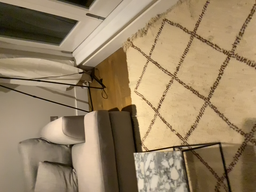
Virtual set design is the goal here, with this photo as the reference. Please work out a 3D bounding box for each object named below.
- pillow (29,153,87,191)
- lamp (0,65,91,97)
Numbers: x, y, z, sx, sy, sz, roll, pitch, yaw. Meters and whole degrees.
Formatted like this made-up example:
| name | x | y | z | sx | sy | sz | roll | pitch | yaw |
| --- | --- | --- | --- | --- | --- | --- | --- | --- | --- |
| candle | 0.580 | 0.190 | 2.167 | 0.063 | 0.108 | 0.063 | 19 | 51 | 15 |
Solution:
| name | x | y | z | sx | sy | sz | roll | pitch | yaw |
| --- | --- | --- | --- | --- | --- | --- | --- | --- | --- |
| pillow | -0.670 | 0.830 | 2.000 | 0.200 | 0.410 | 0.510 | -18 | 58 | 52 |
| lamp | -1.100 | -0.150 | 2.410 | 0.250 | 1.360 | 0.260 | -23 | 71 | 50 |
